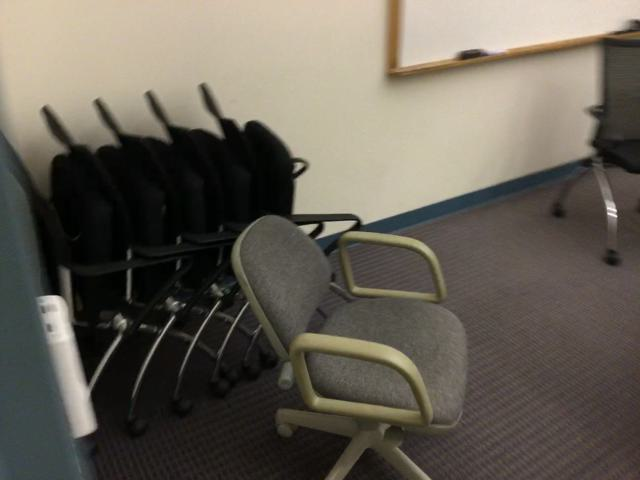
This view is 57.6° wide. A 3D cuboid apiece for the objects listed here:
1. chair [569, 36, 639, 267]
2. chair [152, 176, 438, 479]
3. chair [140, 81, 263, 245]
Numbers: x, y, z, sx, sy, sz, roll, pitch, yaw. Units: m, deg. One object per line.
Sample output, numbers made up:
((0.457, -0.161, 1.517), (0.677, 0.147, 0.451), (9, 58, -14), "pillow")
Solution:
((1.550, -0.430, 2.700), (0.560, 0.910, 0.600), (-2, 27, 11), "chair")
((-0.090, 0.300, 1.930), (0.670, 0.720, 0.670), (-16, 28, -16), "chair")
((-0.390, -0.270, 1.870), (0.230, 0.370, 0.470), (-16, 28, -16), "chair")
